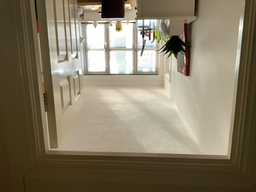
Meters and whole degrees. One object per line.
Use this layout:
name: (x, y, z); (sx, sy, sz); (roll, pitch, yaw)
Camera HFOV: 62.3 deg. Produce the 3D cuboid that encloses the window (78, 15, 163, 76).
window: (-0.170, -1.100, 4.720); (1.820, 1.280, 0.150); (0, -167, 4)
